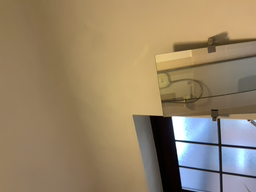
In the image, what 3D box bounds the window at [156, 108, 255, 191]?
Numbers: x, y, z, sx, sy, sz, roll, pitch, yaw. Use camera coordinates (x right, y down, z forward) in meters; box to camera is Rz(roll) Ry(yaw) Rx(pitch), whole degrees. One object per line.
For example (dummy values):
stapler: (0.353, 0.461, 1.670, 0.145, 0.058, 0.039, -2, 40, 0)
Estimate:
window: (0.710, 0.400, 1.370, 0.110, 0.990, 0.630, -43, -52, -54)
